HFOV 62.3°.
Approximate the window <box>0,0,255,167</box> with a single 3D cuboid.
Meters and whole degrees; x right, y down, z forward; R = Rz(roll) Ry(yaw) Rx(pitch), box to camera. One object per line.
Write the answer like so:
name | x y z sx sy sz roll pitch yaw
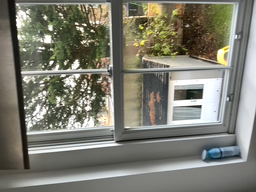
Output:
window | 0.030 -0.100 1.160 0.120 1.540 0.870 -118 26 -70
